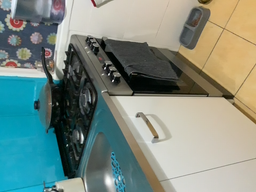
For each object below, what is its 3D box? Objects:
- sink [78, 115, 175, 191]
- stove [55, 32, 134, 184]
[{"bbox_3d":[-0.050,0.350,0.860,0.370,0.150,0.390,56,135,44],"label":"sink"},{"bbox_3d":[-0.250,0.050,1.210,0.590,0.150,0.600,56,135,44],"label":"stove"}]
